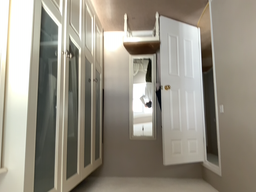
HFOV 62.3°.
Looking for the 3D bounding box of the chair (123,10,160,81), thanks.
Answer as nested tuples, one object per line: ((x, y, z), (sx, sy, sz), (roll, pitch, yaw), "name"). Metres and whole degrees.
((0.200, -0.710, 3.130), (0.500, 0.880, 0.510), (0, 172, 5), "chair")
